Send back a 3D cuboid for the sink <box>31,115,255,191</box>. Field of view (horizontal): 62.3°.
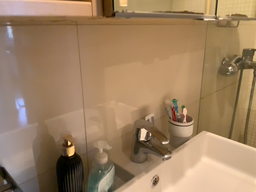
[{"bbox_3d":[0.140,0.260,0.570,0.420,0.130,0.650,17,24,42],"label":"sink"}]
